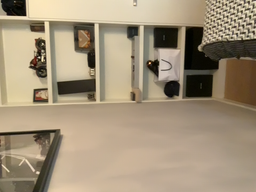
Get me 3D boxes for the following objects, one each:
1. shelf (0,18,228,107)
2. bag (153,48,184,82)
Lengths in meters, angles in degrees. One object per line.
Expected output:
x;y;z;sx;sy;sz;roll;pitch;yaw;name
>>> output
-0.290;-0.320;2.170;0.230;2.760;0.780;-152;61;-76;shelf
0.430;-0.330;2.280;0.130;0.290;0.340;-150;59;-76;bag
